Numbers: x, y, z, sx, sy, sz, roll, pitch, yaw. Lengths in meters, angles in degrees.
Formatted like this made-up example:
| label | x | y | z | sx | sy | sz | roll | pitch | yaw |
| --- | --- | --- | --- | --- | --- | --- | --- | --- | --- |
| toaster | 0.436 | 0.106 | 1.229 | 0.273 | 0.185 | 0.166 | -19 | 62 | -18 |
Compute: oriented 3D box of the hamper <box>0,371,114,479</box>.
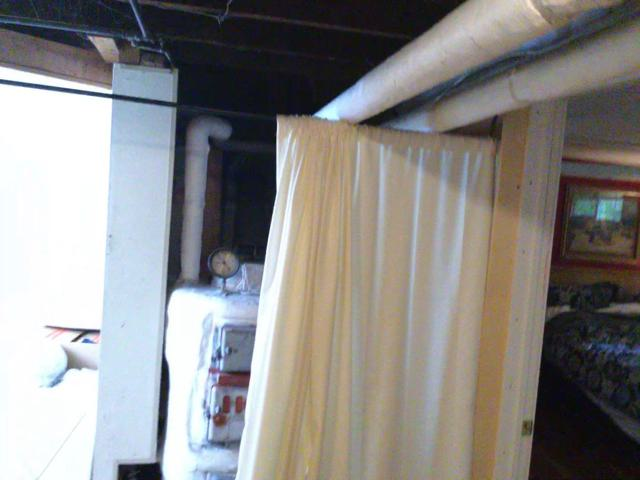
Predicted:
| label | x | y | z | sx | sy | sz | roll | pitch | yaw |
| --- | --- | --- | --- | --- | --- | --- | --- | --- | --- |
| hamper | -1.250 | 0.990 | 2.650 | 0.490 | 0.650 | 0.480 | 4 | 3 | -13 |
